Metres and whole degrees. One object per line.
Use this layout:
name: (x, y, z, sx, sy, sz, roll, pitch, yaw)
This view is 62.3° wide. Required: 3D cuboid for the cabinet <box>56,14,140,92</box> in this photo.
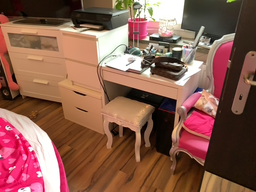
cabinet: (-0.250, -0.460, 2.100, 0.460, 0.520, 0.650, 19, 36, 29)
